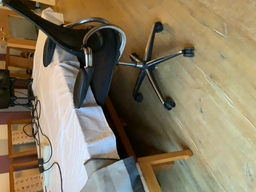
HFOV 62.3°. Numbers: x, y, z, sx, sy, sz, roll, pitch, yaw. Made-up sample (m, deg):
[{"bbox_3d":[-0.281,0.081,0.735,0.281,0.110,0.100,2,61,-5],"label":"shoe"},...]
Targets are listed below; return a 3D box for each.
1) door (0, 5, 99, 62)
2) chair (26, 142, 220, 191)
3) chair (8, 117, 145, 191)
[{"bbox_3d":[-1.330,-0.740,2.250,0.090,1.970,0.770,-60,44,36],"label":"door"},{"bbox_3d":[0.010,0.640,1.140,0.460,0.960,0.510,-53,49,41],"label":"chair"},{"bbox_3d":[-0.460,0.570,1.850,0.490,0.960,0.550,60,135,37],"label":"chair"}]
